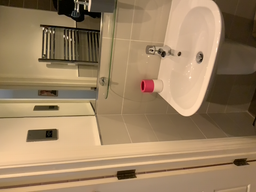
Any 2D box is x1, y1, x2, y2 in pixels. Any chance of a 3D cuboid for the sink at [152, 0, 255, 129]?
[{"bbox_3d":[0.340,-0.190,1.100,0.450,0.180,0.550,-124,38,-60],"label":"sink"}]
